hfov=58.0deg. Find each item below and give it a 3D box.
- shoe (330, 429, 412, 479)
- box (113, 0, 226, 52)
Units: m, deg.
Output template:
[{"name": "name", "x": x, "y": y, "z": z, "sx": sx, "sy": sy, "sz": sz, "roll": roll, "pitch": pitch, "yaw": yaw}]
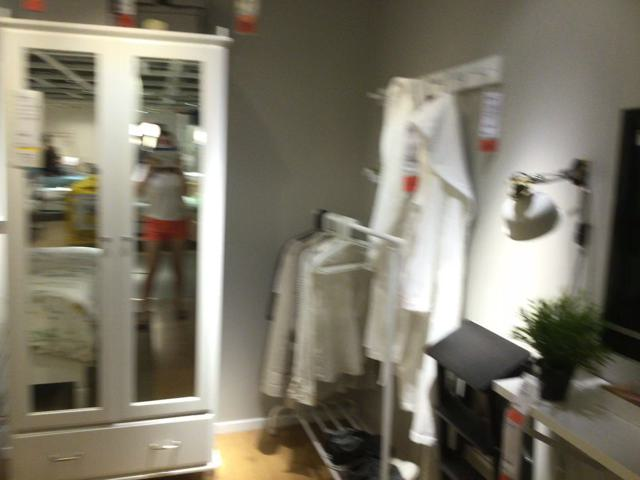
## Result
[{"name": "shoe", "x": 0.210, "y": 0.930, "z": 2.440, "sx": 0.270, "sy": 0.150, "sz": 0.230, "roll": 1, "pitch": 5, "yaw": -18}, {"name": "box", "x": -0.620, "y": -0.970, "z": 2.390, "sx": 0.440, "sy": 0.300, "sz": 0.110, "roll": 1, "pitch": 5, "yaw": -18}]
